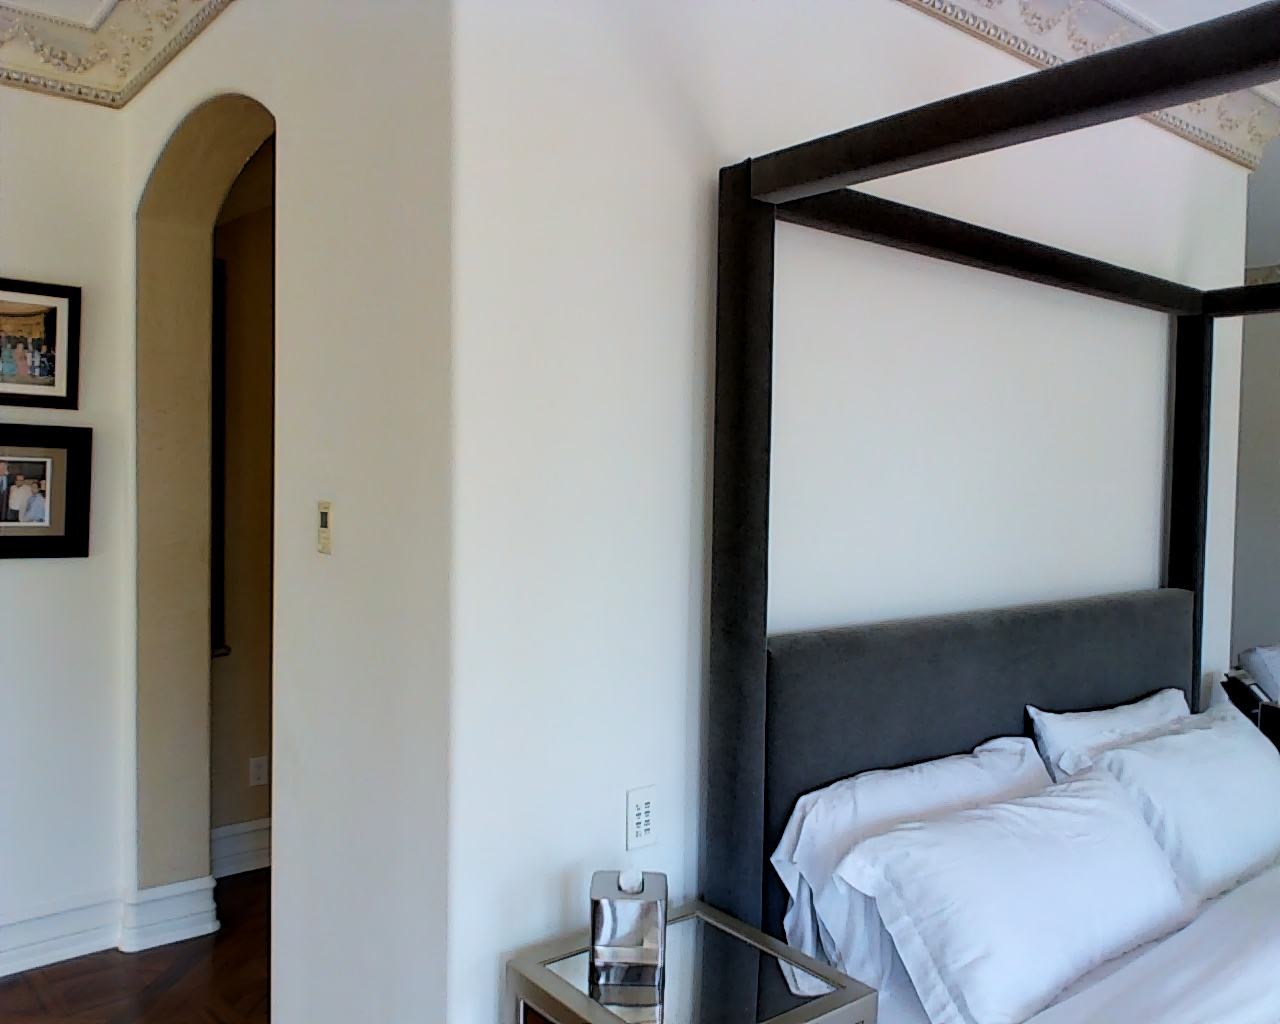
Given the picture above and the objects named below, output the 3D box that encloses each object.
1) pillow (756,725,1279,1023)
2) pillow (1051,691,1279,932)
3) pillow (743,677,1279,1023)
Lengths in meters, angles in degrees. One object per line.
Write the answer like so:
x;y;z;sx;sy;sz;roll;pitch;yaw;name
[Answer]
0.820;0.880;2.260;0.980;0.640;0.420;-1;-22;-39;pillow
1.570;0.770;2.900;0.940;0.440;0.310;0;-23;-40;pillow
1.070;0.840;2.680;1.900;0.630;0.230;-1;-13;-39;pillow
